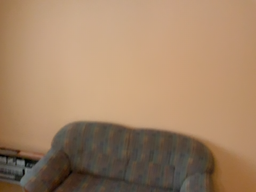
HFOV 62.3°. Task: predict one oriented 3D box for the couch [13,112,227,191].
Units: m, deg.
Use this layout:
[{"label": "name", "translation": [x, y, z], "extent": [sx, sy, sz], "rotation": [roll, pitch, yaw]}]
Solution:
[{"label": "couch", "translation": [-0.070, 0.800, 2.080], "extent": [1.610, 0.860, 0.900], "rotation": [7, 13, 10]}]
